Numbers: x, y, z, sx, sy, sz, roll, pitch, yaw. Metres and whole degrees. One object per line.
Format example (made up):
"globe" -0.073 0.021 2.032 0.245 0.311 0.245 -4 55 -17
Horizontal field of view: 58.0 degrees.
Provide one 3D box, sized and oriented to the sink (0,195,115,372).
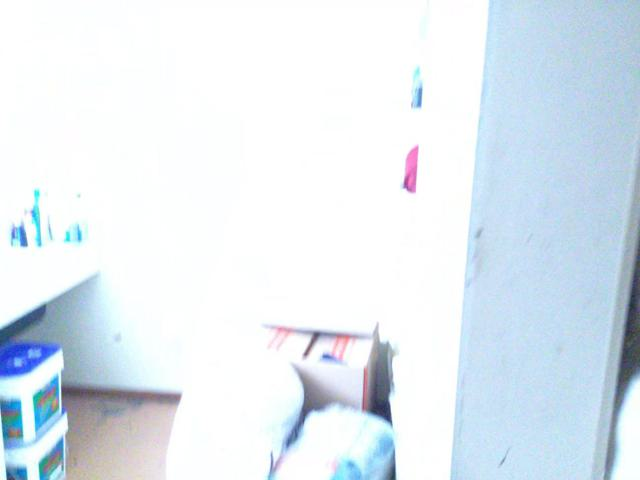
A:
"sink" -1.480 0.140 2.470 0.700 0.530 1.140 3 11 5
